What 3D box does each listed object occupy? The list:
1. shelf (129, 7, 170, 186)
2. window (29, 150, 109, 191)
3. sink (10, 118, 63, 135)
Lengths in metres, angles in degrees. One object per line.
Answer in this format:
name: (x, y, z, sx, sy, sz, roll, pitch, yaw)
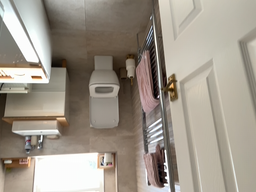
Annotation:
shelf: (0.140, 0.020, 1.830, 0.140, 1.330, 0.670, -2, 163, -4)
window: (-0.770, 1.220, 2.850, 0.980, 0.900, 0.300, 1, 163, -12)
sink: (-1.030, 0.360, 2.460, 0.460, 0.120, 0.460, 0, 163, -9)
